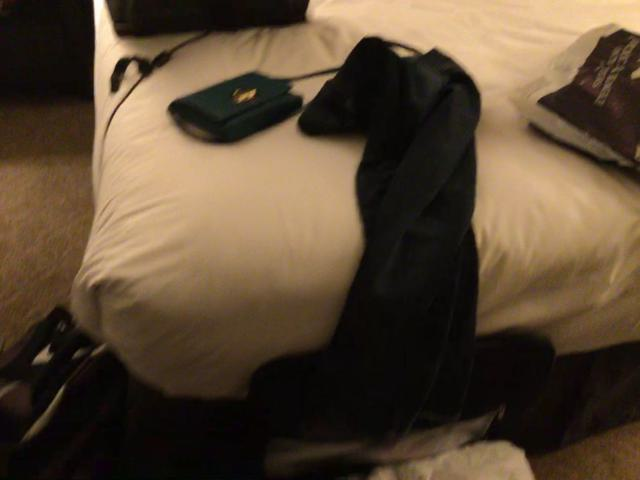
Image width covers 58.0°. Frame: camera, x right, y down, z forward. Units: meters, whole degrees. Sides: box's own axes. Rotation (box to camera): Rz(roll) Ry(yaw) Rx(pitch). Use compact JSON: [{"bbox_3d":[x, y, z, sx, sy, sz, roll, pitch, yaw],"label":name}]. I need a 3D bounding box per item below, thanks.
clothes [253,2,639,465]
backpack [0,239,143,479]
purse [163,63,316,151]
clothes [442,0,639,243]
[{"bbox_3d":[0.120,-0.040,0.970,0.380,0.510,0.550,-4,41,-13],"label":"clothes"},{"bbox_3d":[-0.600,0.300,1.110,0.470,0.320,0.510,-4,41,-13],"label":"backpack"},{"bbox_3d":[-0.130,-0.230,0.970,0.130,0.040,0.220,33,46,28],"label":"purse"},{"bbox_3d":[0.530,-0.250,1.000,0.430,0.180,0.530,-4,41,-13],"label":"clothes"}]
